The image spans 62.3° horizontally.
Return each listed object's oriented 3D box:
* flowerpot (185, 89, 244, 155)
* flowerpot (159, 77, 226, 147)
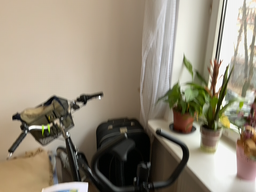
[{"bbox_3d":[0.520,0.150,1.320,0.210,0.330,0.220,-3,19,-13],"label":"flowerpot"},{"bbox_3d":[0.450,0.100,1.560,0.310,0.400,0.300,-4,19,-17],"label":"flowerpot"}]
